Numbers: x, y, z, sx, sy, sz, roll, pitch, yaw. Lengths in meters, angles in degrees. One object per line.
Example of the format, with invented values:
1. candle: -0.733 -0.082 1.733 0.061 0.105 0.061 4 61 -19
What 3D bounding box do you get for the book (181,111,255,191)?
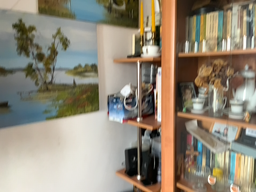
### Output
1. book: 0.530 0.300 1.140 0.190 0.350 0.430 -7 11 -40
